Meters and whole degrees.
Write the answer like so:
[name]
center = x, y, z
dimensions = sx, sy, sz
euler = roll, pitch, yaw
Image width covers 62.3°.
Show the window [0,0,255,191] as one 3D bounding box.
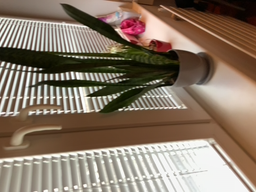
[window]
center = -0.370, -0.110, 0.860
dimensions = 2.250, 1.510, 0.130
euler = -117, 33, -49
